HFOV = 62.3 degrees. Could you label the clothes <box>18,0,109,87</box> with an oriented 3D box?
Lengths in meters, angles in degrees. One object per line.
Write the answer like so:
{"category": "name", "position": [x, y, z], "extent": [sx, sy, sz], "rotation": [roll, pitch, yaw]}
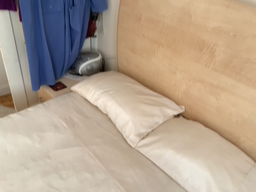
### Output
{"category": "clothes", "position": [-0.430, -0.730, 1.470], "extent": [0.580, 1.260, 0.240], "rotation": [-24, 46, -37]}

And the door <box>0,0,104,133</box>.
{"category": "door", "position": [-0.550, -0.560, 1.710], "extent": [0.840, 1.850, 0.050], "rotation": [-25, 46, -37]}
